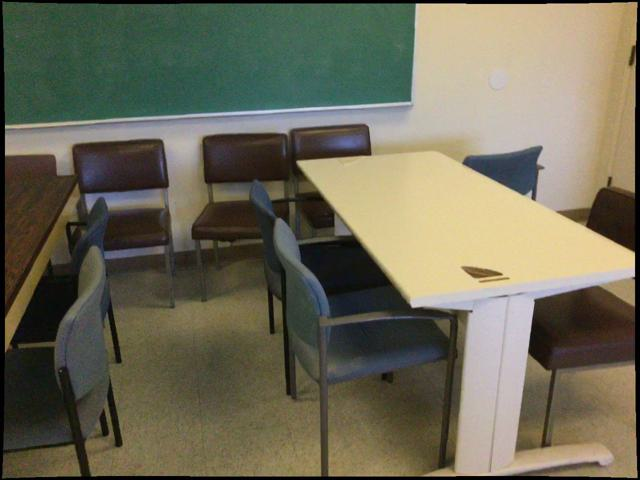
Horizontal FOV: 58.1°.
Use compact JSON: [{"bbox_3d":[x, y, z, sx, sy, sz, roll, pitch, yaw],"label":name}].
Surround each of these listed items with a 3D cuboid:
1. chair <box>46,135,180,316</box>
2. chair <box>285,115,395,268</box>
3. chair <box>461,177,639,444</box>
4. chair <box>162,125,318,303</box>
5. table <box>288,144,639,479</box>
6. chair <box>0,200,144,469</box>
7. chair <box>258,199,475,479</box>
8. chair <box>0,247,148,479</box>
[{"bbox_3d":[-1.027,-0.110,3.000,0.479,0.712,0.650,-8,22,-12],"label":"chair"},{"bbox_3d":[0.110,-0.291,3.230,0.479,0.702,0.470,-8,22,-12],"label":"chair"},{"bbox_3d":[0.878,0.211,2.000,0.569,0.692,0.490,-8,22,-12],"label":"chair"},{"bbox_3d":[-0.369,-0.170,3.100,0.678,0.732,0.720,-3,22,1],"label":"chair"},{"bbox_3d":[0.489,0.170,2.400,0.918,0.752,1.570,-8,22,-12],"label":"table"},{"bbox_3d":[-0.987,0.321,2.160,0.489,0.762,0.540,-8,22,-12],"label":"chair"},{"bbox_3d":[0.120,0.311,1.920,0.509,0.692,0.620,-8,22,-12],"label":"chair"},{"bbox_3d":[-0.878,0.481,1.670,0.609,0.712,0.500,-8,22,-12],"label":"chair"}]
